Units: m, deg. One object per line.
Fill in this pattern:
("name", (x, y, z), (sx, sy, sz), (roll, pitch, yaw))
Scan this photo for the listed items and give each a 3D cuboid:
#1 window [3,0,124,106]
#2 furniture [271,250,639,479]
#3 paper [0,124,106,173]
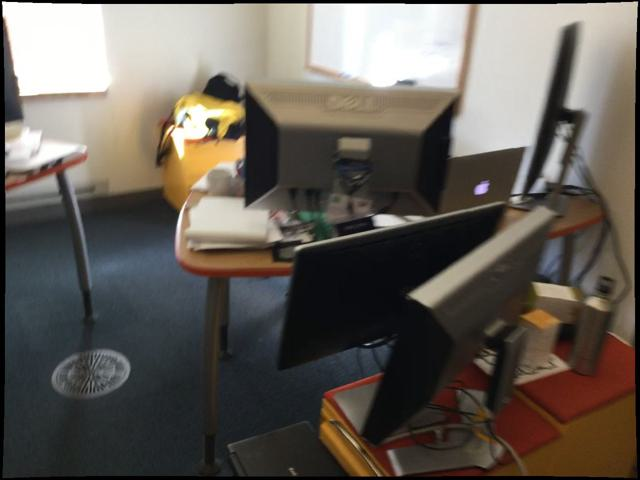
("window", (-1.449, -1.121, 3.260), (0.480, 0.580, 0.530), (-12, 31, -33))
("furniture", (0.430, 0.531, 1.590), (0.999, 0.691, 0.490), (-12, 31, -33))
("paper", (-1.019, -0.340, 2.110), (0.320, 0.040, 0.340), (9, 26, 7))
